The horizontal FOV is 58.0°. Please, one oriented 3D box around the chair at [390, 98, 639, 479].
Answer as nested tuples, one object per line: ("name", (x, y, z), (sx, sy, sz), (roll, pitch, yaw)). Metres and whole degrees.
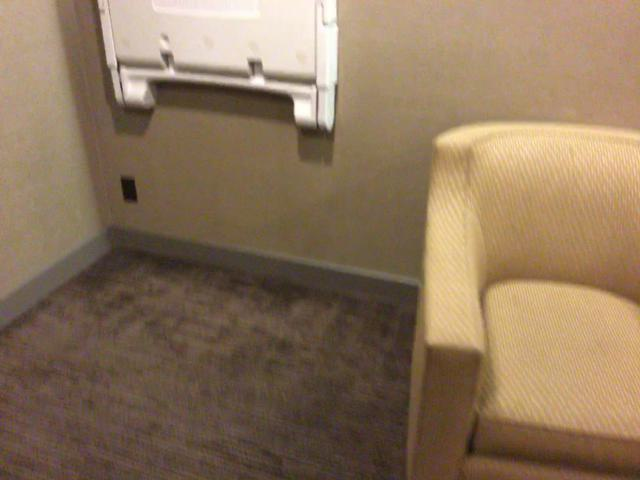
("chair", (0.680, 0.190, 1.590), (0.880, 0.900, 0.980), (5, 26, 7))
